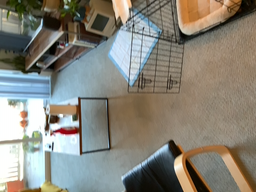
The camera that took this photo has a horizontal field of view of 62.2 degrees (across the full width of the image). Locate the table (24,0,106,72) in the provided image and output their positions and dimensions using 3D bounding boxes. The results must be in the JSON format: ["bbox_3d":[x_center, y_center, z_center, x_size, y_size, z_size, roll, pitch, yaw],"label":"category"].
[{"bbox_3d":[-0.980,-0.830,3.000,1.580,0.560,0.590,-13,78,51],"label":"table"}]
